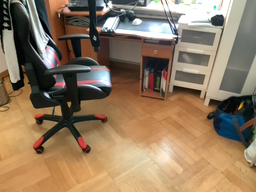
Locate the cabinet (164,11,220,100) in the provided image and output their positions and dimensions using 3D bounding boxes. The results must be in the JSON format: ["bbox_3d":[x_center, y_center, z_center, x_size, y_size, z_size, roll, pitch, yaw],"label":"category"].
[{"bbox_3d":[0.690,-0.450,2.370,0.410,0.820,0.430,11,36,13],"label":"cabinet"}]
